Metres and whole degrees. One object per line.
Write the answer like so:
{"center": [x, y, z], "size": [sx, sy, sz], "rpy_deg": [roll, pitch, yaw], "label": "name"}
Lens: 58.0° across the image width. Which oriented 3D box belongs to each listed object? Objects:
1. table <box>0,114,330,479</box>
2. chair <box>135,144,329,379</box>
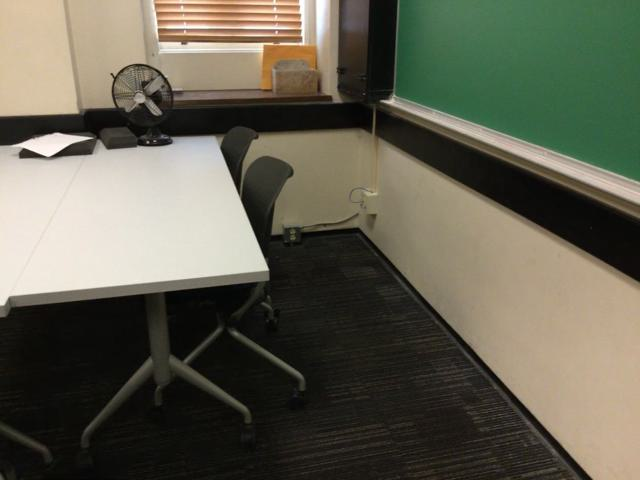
{"center": [-0.890, 0.100, 2.310], "size": [1.310, 0.820, 1.920], "rpy_deg": [-1, 22, -16], "label": "table"}
{"center": [-0.370, 0.030, 2.190], "size": [0.590, 0.680, 0.620], "rpy_deg": [-3, 20, -19], "label": "chair"}
